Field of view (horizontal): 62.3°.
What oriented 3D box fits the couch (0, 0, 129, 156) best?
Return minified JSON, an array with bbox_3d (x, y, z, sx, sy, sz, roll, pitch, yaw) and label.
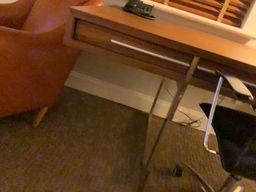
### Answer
[{"bbox_3d":[-0.750,-0.270,1.060,1.060,0.780,0.850,-8,35,-43],"label":"couch"}]
